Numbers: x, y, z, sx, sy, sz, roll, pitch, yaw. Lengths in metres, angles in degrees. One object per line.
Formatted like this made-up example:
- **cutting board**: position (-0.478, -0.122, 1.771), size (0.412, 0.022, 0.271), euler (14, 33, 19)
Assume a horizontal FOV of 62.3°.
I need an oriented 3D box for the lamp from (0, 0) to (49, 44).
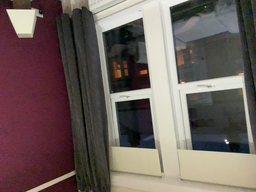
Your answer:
- **lamp**: position (-1.080, -0.780, 2.130), size (0.400, 0.380, 0.330), euler (-7, 180, 33)
